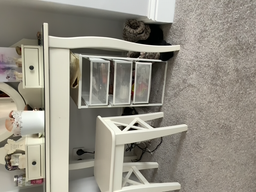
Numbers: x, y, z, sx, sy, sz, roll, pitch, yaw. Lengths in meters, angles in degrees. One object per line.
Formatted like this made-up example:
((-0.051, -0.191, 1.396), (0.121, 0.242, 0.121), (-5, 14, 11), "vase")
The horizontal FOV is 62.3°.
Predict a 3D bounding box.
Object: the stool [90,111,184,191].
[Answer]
((0.030, 0.350, 1.270), (0.320, 0.420, 0.420), (-146, 58, -61), "stool")
